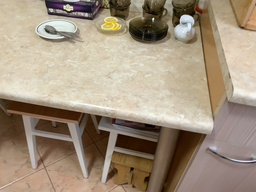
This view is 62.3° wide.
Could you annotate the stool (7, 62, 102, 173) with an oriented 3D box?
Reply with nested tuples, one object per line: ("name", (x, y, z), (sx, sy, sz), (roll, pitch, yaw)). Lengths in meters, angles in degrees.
("stool", (-0.330, 0.120, 1.110), (0.300, 0.450, 0.310), (10, 44, 5))

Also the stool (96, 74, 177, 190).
("stool", (0.040, 0.190, 1.060), (0.300, 0.460, 0.310), (10, 44, 5))
